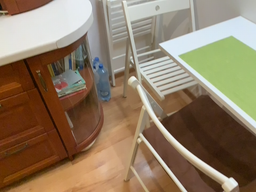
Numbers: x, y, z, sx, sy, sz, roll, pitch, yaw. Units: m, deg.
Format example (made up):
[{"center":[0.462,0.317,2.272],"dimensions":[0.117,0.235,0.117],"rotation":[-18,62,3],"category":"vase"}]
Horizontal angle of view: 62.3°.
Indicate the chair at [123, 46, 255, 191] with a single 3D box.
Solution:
[{"center":[0.310,0.260,0.980],"dimensions":[0.490,0.730,0.450],"rotation":[-23,51,-19],"category":"chair"}]
